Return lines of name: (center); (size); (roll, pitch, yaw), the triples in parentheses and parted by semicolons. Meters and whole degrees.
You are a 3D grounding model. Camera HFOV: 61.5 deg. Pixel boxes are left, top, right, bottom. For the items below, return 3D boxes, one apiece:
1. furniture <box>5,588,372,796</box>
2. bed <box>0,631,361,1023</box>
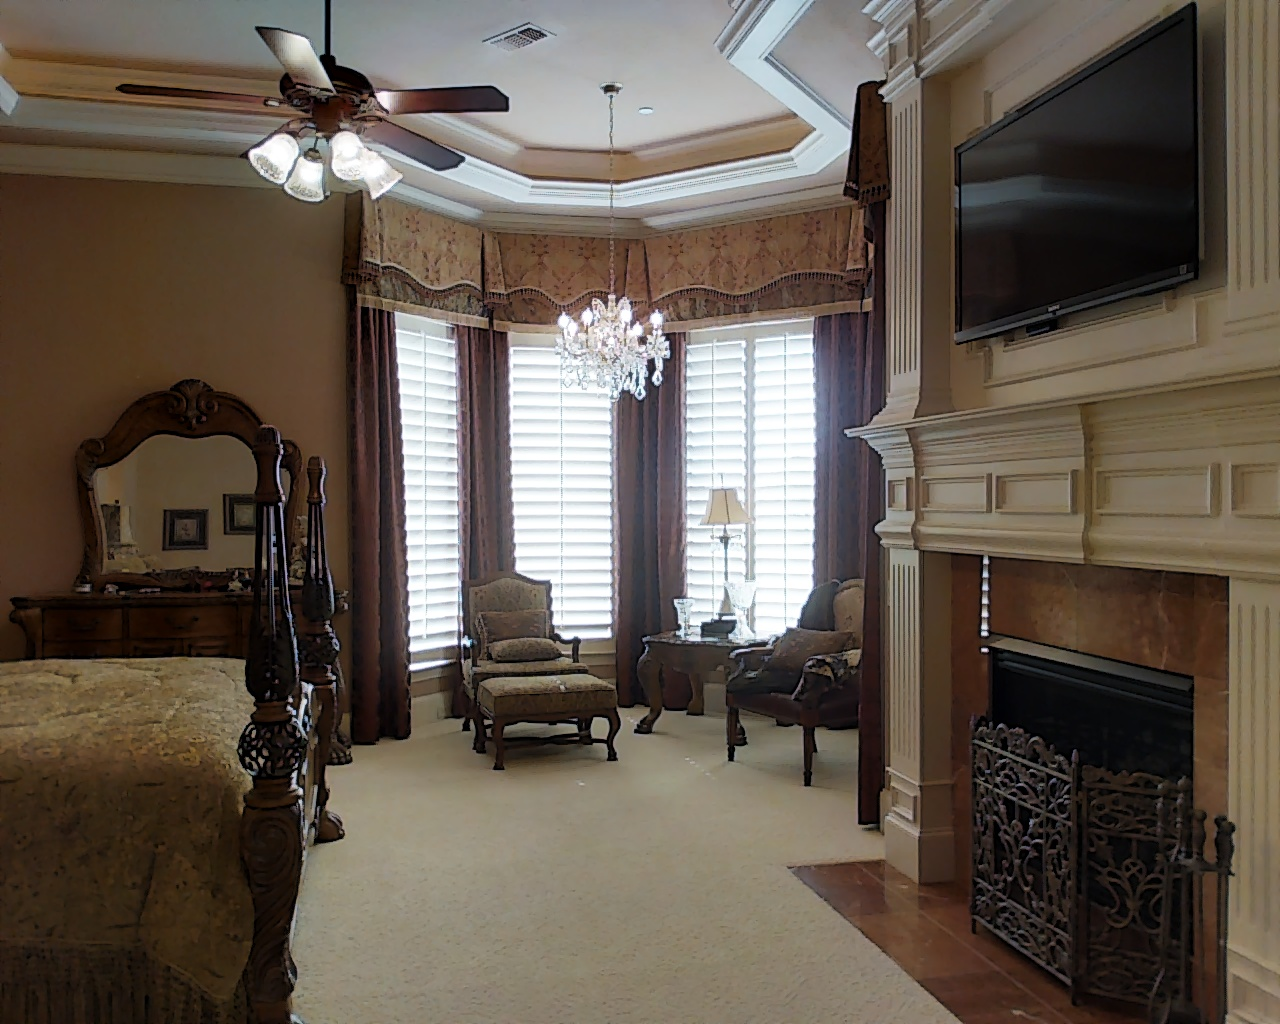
furniture: (-2.569, 1.010, 6.330); (1.919, 1.070, 0.570); (0, -1, -13)
bed: (-2.239, 1.040, 3.610); (2.459, 0.990, 2.390); (0, -1, -13)
